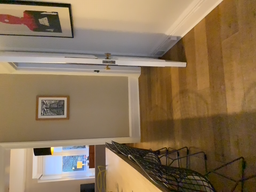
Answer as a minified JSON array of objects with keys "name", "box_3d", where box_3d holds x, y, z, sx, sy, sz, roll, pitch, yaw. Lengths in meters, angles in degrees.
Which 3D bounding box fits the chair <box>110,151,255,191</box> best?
[{"name":"chair","box_3d":[0.370,0.590,1.130,0.440,0.860,0.470,148,120,-75]}]
